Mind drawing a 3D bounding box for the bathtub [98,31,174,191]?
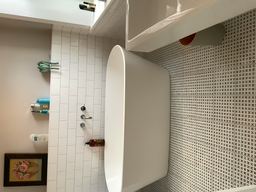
[{"bbox_3d":[0.050,0.260,2.420,0.770,0.540,1.720,-178,90,-68],"label":"bathtub"}]

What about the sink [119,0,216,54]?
[{"bbox_3d":[0.140,-0.520,1.020,0.580,0.170,0.510,180,92,-68],"label":"sink"}]
